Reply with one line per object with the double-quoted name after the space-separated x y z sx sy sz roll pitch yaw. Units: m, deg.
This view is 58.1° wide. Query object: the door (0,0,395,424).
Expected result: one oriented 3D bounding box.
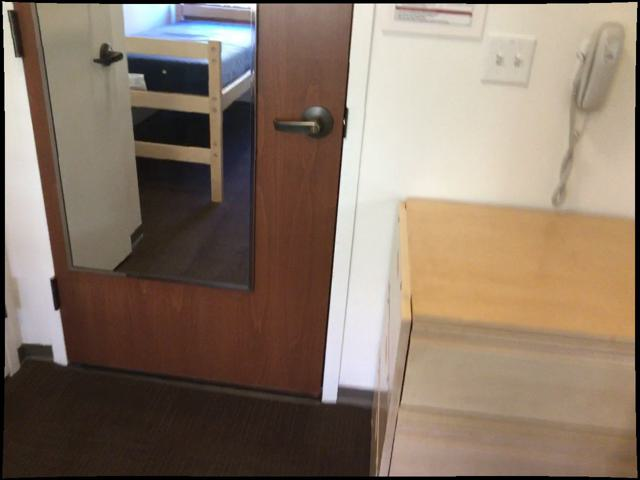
-0.439 -0.231 1.710 1.217 1.654 0.130 6 23 5 "door"
